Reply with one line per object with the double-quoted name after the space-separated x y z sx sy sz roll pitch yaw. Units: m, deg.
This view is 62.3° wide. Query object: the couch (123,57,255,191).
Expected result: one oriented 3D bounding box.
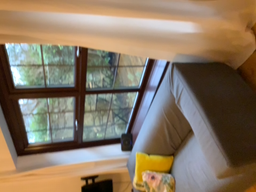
0.550 0.640 2.130 1.840 0.680 0.950 107 153 -47 "couch"
